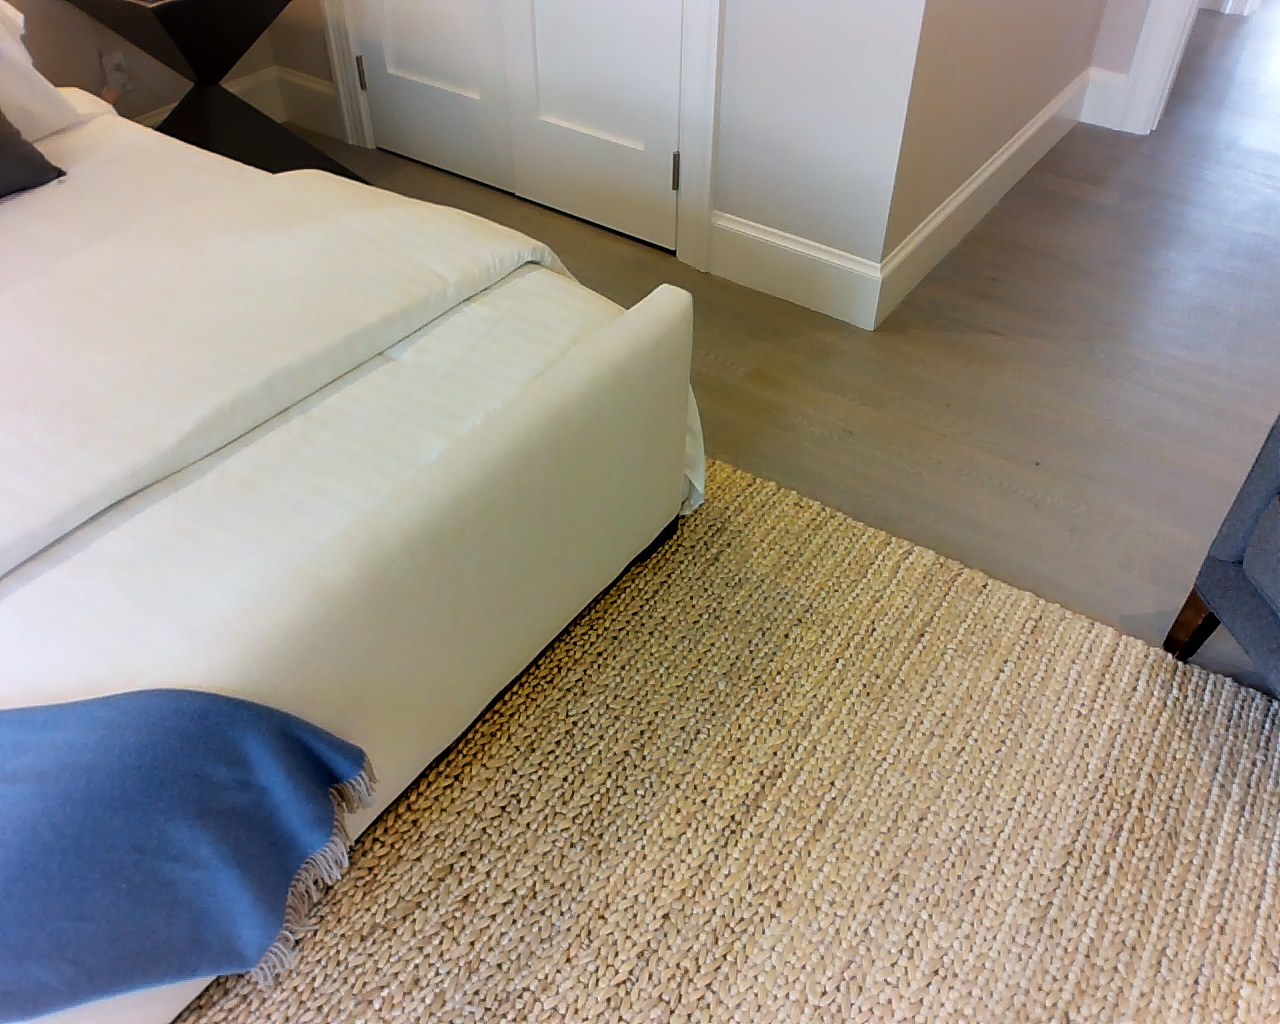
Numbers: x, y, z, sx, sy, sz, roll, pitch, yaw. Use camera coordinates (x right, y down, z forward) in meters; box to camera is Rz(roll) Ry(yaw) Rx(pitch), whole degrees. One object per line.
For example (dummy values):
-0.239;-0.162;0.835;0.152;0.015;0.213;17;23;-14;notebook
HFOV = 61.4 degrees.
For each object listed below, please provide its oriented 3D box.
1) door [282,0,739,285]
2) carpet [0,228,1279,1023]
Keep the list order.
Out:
-0.450;-1.880;2.660;1.650;2.390;0.070;25;47;25;door
-0.700;0.450;1.840;3.200;0.030;2.510;25;47;25;carpet
